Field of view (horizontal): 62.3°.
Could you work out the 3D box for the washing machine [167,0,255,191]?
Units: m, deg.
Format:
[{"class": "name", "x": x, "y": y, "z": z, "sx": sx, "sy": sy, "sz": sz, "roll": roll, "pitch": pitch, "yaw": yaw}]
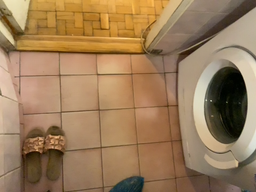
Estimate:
[{"class": "washing machine", "x": 0.550, "y": 0.030, "z": 0.890, "sx": 0.470, "sy": 0.850, "sz": 0.630, "roll": 1, "pitch": 82, "yaw": -11}]
